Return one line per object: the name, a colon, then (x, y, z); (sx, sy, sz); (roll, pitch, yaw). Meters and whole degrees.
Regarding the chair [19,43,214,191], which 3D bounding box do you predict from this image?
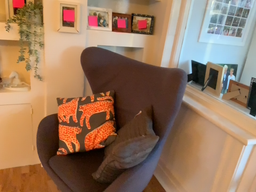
chair: (-0.100, 0.260, 1.500); (0.820, 1.090, 0.880); (24, 26, 36)
